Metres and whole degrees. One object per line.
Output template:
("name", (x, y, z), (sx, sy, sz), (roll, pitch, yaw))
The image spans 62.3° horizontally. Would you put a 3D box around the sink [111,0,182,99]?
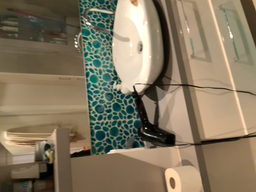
("sink", (0.060, -0.310, 1.110), (0.380, 0.130, 0.570), (145, 122, -60))
